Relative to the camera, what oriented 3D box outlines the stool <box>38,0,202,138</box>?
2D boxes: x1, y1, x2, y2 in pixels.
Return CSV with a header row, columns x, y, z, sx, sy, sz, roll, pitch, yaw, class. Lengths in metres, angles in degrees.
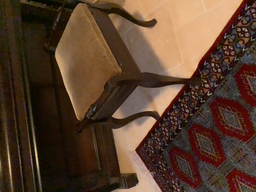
x,y,z,sx,sy,sz,roll,pitch,yaw,class
-0.060,-0.160,1.160,0.430,0.600,0.550,-48,58,36,stool
